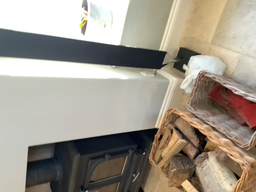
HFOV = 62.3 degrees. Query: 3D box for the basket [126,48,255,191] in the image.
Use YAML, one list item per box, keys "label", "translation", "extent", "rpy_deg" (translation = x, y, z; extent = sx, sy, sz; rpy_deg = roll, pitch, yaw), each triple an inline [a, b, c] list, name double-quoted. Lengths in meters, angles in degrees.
- label: "basket"
  translation: [0.450, 0.280, 1.370]
  extent: [0.740, 0.370, 0.940]
  rpy_deg: [42, 124, 45]
